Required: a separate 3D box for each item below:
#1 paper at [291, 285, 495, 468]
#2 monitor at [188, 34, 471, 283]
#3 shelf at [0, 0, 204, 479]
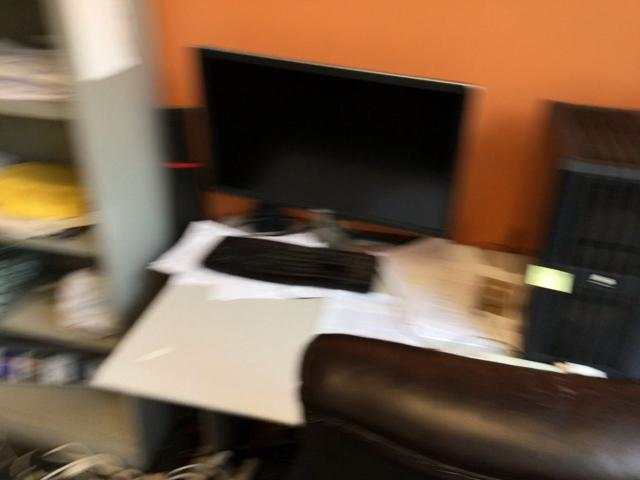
[{"bbox_3d":[0.160,0.250,1.190,0.350,0.050,0.420,9,28,7],"label":"paper"},{"bbox_3d":[0.010,-0.200,1.400,0.600,0.480,0.200,9,28,7],"label":"monitor"},{"bbox_3d":[-0.900,-0.340,1.460,1.060,2.020,0.490,9,28,7],"label":"shelf"}]
